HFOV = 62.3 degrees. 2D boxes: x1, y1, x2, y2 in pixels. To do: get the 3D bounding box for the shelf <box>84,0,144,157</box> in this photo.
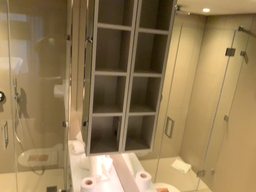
[{"bbox_3d":[-0.110,-0.180,1.310,0.230,1.080,0.280,0,18,-20],"label":"shelf"}]
